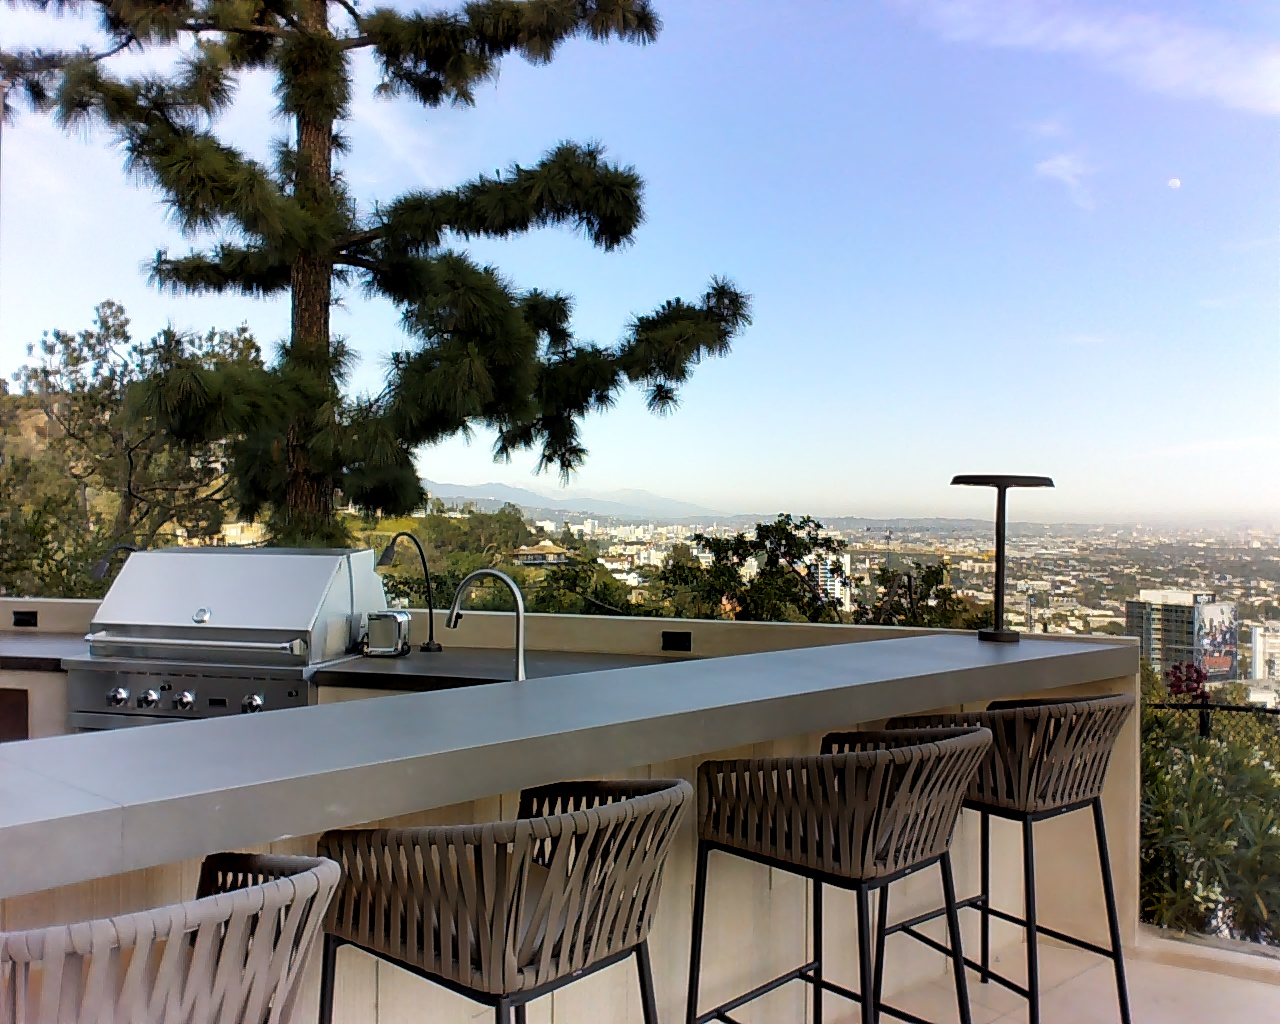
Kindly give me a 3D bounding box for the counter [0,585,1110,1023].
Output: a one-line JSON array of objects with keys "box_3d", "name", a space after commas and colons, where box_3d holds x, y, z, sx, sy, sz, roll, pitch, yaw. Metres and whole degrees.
[{"box_3d": [-0.900, 0.980, 3.450, 3.150, 1.180, 4.150, 0, -1, 44], "name": "counter"}]
